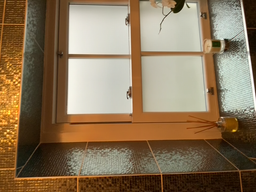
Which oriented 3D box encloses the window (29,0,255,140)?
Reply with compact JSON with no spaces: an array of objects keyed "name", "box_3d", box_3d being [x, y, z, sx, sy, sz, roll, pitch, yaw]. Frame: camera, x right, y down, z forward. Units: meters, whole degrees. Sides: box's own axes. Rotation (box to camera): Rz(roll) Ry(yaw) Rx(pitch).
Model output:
[{"name":"window","box_3d":[0.210,-0.260,1.330,0.170,1.480,1.000,117,152,-78]}]
